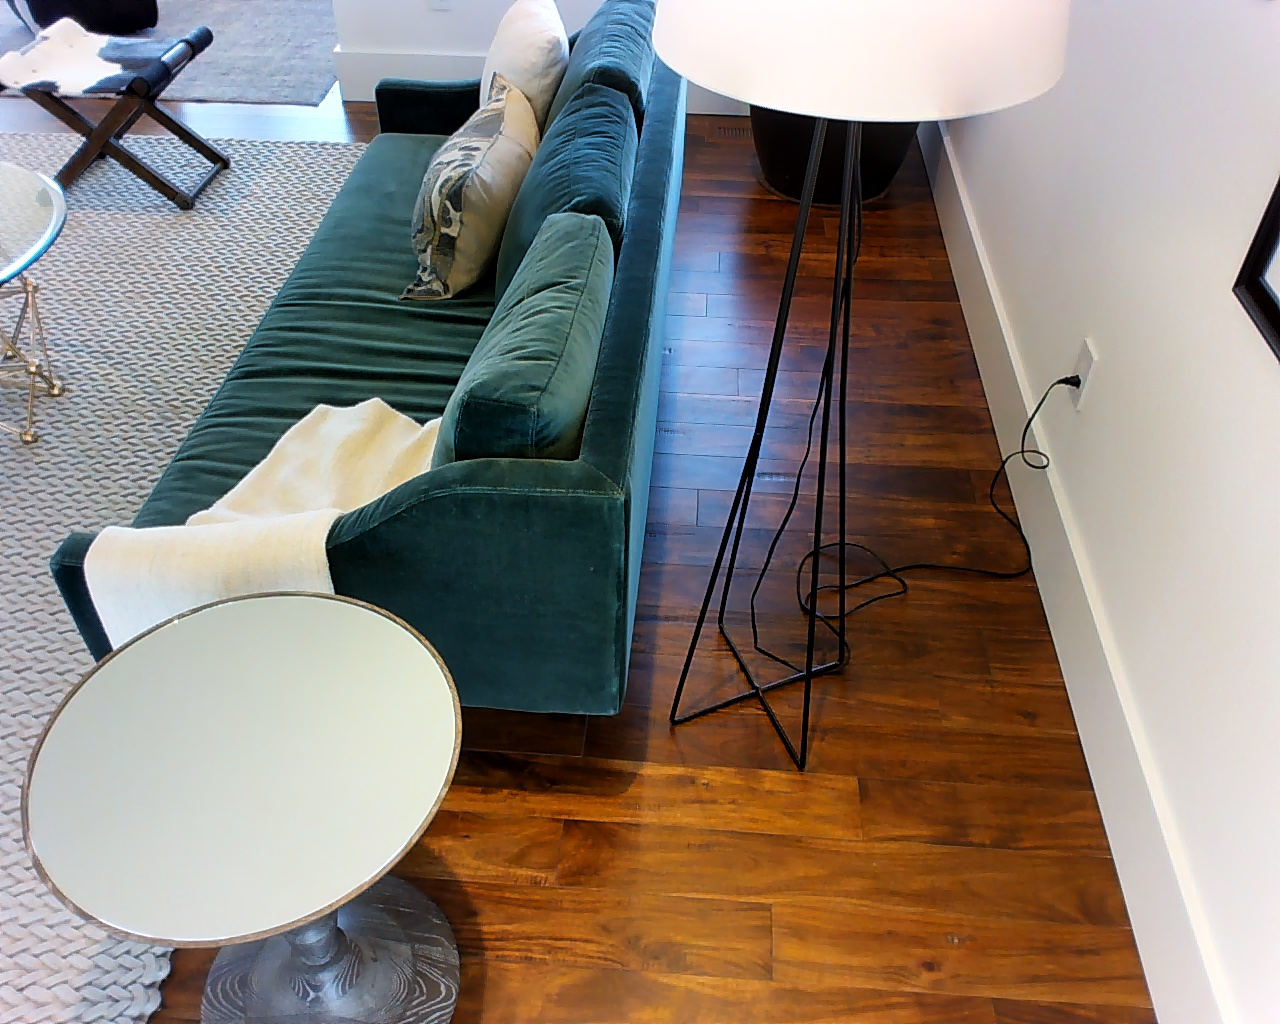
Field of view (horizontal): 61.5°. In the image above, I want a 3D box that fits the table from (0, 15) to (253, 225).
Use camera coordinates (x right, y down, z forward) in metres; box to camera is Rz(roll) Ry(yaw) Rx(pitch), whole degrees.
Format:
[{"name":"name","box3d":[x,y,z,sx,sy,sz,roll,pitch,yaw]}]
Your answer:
[{"name":"table","box3d":[-1.600,-1.220,3.330,0.540,0.430,0.520,3,42,3]}]
